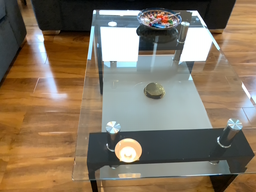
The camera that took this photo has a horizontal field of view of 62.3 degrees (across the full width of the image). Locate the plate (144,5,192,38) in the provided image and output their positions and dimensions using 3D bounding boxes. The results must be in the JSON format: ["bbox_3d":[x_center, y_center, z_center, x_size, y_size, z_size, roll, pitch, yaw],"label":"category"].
[{"bbox_3d":[0.190,-0.380,1.070,0.200,0.060,0.230,0,46,-2],"label":"plate"}]
